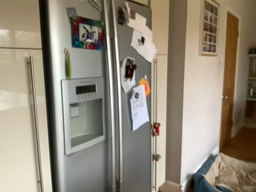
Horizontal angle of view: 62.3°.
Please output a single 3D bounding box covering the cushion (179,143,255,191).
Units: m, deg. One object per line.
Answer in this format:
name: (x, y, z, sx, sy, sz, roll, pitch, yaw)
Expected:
cushion: (1.120, 0.840, 2.240, 0.800, 0.200, 1.010, 7, 12, 36)
